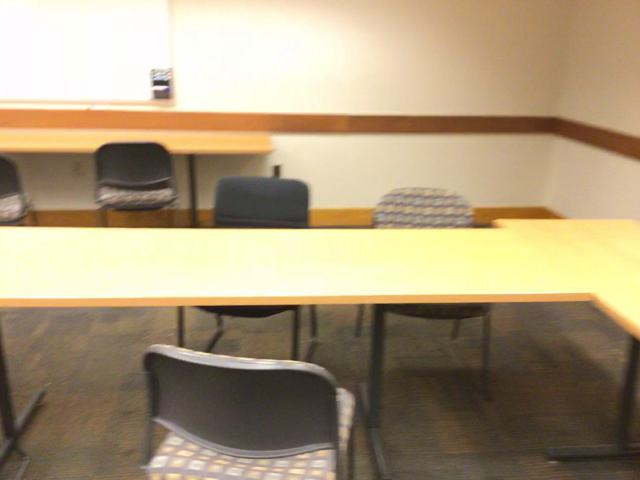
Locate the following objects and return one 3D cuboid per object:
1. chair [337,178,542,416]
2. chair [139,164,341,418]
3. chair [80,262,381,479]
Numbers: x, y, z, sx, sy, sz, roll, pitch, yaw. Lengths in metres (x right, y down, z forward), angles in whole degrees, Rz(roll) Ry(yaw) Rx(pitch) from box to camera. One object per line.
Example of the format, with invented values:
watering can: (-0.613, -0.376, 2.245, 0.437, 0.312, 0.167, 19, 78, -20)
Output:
chair: (0.430, 0.200, 2.390, 0.570, 0.780, 0.630, 1, 16, -8)
chair: (-0.280, 0.150, 2.340, 0.620, 0.770, 0.700, 5, 16, 5)
chair: (-0.170, 0.510, 1.470, 0.570, 0.710, 0.580, 6, 16, 6)
